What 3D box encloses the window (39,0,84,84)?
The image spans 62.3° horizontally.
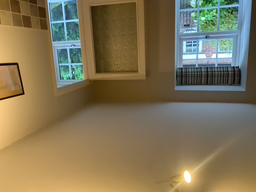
[{"bbox_3d":[-1.080,-0.970,3.480,0.610,1.540,0.080,0,-167,8],"label":"window"}]

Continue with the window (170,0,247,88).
[{"bbox_3d":[1.060,-0.890,2.890,0.940,1.550,0.100,1,-167,12],"label":"window"}]
